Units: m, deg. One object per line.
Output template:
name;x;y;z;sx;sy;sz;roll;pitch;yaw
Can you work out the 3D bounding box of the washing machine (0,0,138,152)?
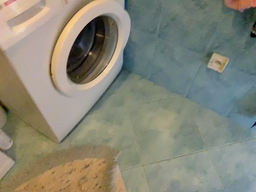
washing machine;-0.390;-0.310;0.970;0.620;0.840;0.640;29;60;15
